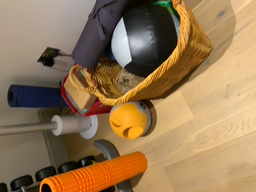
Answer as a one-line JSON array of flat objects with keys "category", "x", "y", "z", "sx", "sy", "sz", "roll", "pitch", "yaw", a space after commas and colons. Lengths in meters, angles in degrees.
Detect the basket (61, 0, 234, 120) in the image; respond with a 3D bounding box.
[{"category": "basket", "x": 0.070, "y": -0.260, "z": 1.120, "sx": 0.610, "sy": 0.460, "sz": 0.510, "roll": -39, "pitch": 66, "yaw": 33}]
